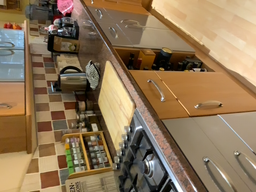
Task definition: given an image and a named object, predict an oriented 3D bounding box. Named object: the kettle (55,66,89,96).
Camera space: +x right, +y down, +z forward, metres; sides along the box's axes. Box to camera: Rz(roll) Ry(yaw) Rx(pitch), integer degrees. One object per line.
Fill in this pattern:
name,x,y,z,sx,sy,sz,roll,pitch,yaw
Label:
kettle,-0.460,-0.120,1.730,0.140,0.230,0.190,-119,36,-43
